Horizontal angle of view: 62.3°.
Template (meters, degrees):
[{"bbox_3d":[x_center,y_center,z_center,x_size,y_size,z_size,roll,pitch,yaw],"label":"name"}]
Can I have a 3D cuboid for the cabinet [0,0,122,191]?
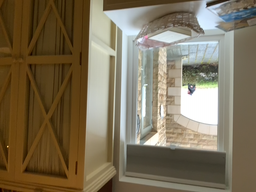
[{"bbox_3d":[-0.660,-0.370,1.660,1.070,1.980,0.610,1,179,16],"label":"cabinet"}]
